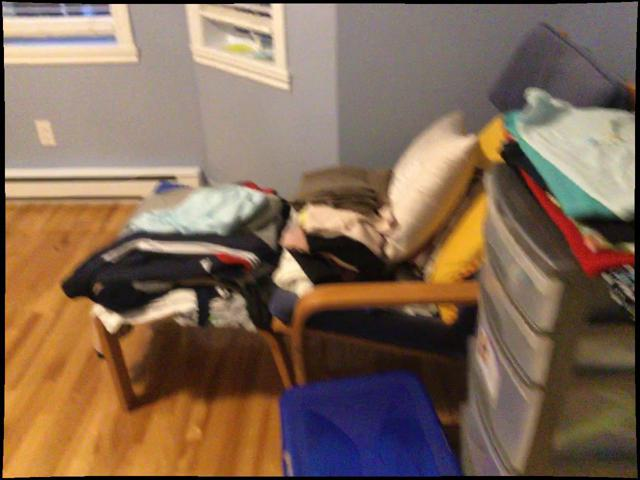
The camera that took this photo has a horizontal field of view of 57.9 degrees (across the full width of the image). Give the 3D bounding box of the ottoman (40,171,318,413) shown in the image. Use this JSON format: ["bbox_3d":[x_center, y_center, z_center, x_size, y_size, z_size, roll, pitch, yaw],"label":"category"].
[{"bbox_3d":[-0.360,0.130,1.860,0.649,0.410,0.720,-2,32,4],"label":"ottoman"}]

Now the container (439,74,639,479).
[{"bbox_3d":[0.509,0.240,1.100,0.450,0.961,0.500,-2,32,4],"label":"container"}]
